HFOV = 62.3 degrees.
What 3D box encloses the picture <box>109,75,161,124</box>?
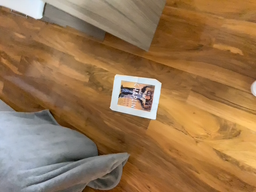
[{"bbox_3d":[0.030,0.010,1.140,0.280,0.010,0.220,11,94,30],"label":"picture"}]
